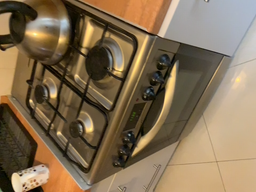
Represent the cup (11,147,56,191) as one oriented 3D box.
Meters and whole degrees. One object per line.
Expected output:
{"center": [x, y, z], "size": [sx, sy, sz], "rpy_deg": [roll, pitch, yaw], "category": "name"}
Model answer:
{"center": [-0.350, 0.290, 0.780], "size": [0.120, 0.090, 0.140], "rpy_deg": [31, 112, 33], "category": "cup"}
